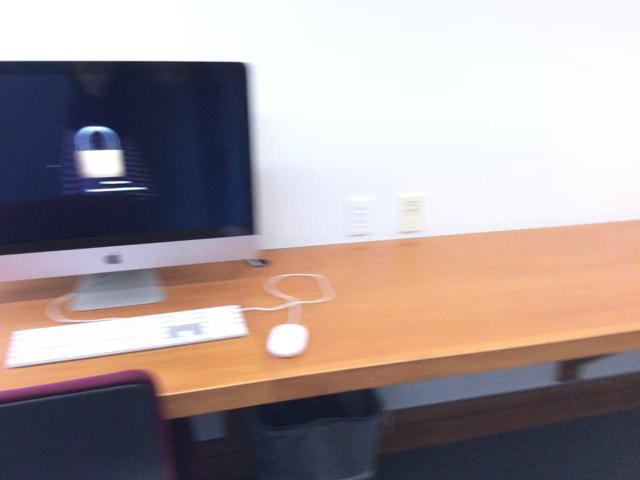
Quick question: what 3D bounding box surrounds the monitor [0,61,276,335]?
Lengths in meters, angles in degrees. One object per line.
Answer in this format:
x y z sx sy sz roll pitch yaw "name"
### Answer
-0.450 -0.110 1.250 0.660 0.510 0.270 -4 20 -16 "monitor"
